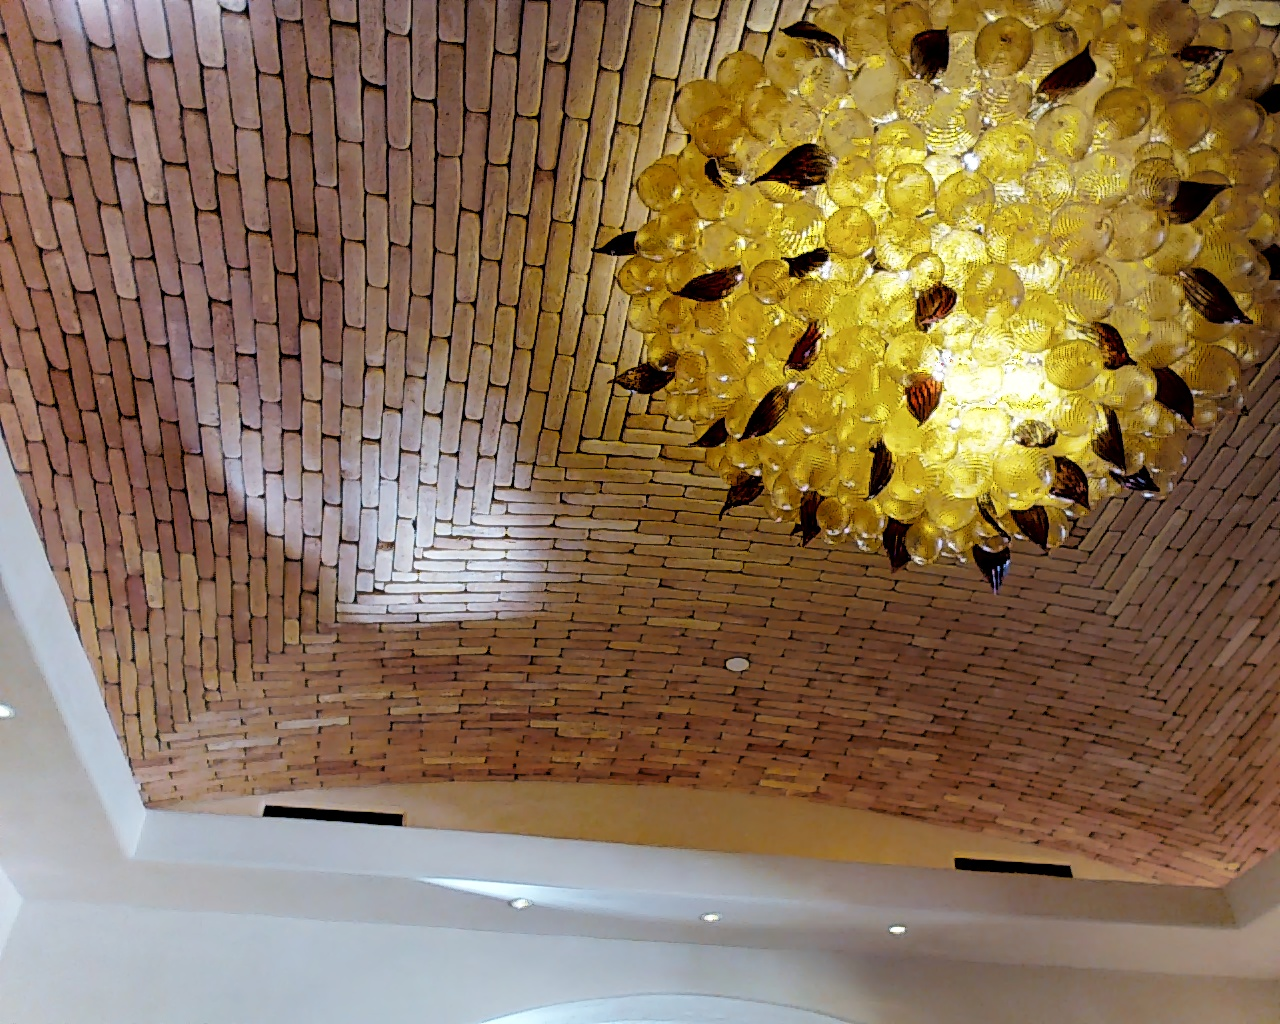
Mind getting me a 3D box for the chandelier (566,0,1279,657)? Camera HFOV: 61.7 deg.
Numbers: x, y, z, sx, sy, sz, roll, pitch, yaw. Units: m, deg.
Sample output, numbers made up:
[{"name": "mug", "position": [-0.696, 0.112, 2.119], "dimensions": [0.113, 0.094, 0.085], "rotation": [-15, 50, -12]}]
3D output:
[{"name": "chandelier", "position": [0.710, -0.330, 2.200], "dimensions": [1.520, 0.820, 1.570], "rotation": [6, -20, -7]}]
